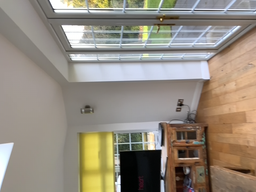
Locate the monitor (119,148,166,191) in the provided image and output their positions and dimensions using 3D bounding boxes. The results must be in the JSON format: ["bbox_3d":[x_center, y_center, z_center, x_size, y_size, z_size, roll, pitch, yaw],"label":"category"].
[{"bbox_3d":[0.220,1.340,3.280,0.080,0.700,1.070,-118,27,-79],"label":"monitor"}]
